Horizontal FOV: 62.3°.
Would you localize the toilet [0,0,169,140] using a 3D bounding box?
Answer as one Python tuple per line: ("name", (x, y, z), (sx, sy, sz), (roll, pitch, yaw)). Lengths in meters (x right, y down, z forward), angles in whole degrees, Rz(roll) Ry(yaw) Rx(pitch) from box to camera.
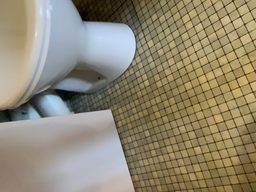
("toilet", (-0.400, -0.110, 0.680), (0.660, 0.780, 0.370), (-29, 73, 39))
